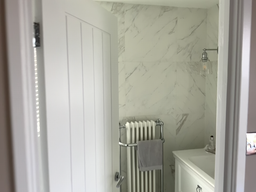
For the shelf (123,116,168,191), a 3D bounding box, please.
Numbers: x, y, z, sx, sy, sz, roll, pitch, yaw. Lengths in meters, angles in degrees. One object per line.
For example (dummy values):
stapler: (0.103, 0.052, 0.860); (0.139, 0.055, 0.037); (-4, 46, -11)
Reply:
shelf: (0.180, 0.700, 2.290); (0.410, 0.910, 0.290); (-2, 6, -11)
